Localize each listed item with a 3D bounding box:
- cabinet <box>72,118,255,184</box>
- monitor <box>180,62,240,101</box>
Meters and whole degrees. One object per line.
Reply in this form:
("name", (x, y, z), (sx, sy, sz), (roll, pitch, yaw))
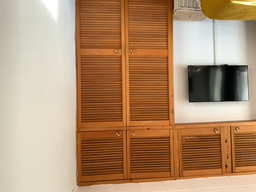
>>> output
("cabinet", (1.260, 0.680, 2.930), (3.920, 0.700, 0.320), (-1, 179, -7))
("monitor", (1.180, -0.210, 3.020), (0.890, 0.530, 0.030), (-1, 180, -8))
